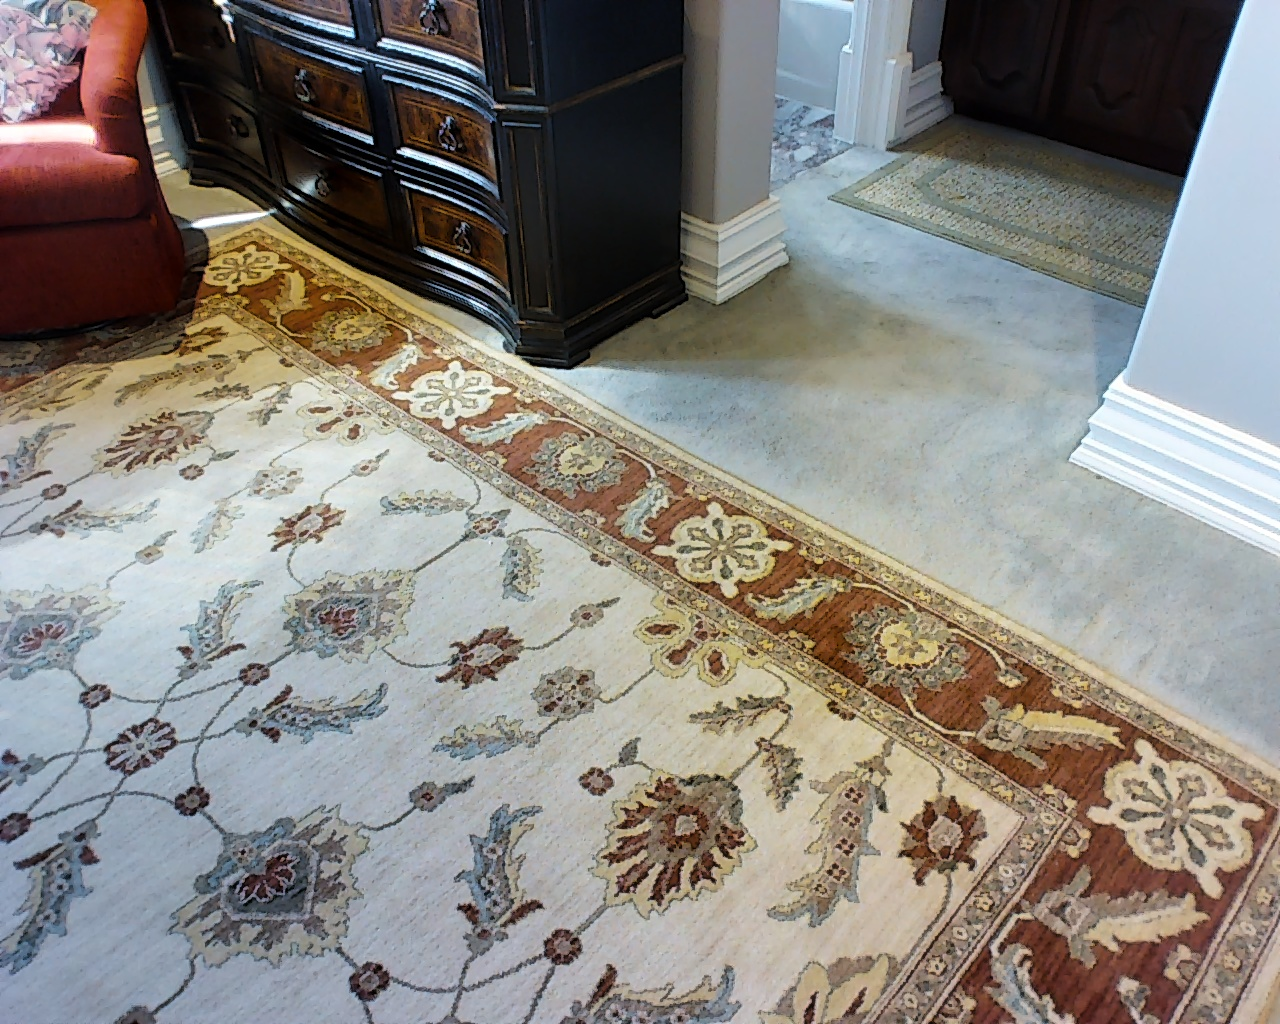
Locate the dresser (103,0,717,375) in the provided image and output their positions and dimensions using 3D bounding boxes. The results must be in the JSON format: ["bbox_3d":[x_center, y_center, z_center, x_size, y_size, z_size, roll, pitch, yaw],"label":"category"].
[{"bbox_3d":[-0.710,-1.230,2.900,1.860,0.920,0.610,31,51,31],"label":"dresser"}]
